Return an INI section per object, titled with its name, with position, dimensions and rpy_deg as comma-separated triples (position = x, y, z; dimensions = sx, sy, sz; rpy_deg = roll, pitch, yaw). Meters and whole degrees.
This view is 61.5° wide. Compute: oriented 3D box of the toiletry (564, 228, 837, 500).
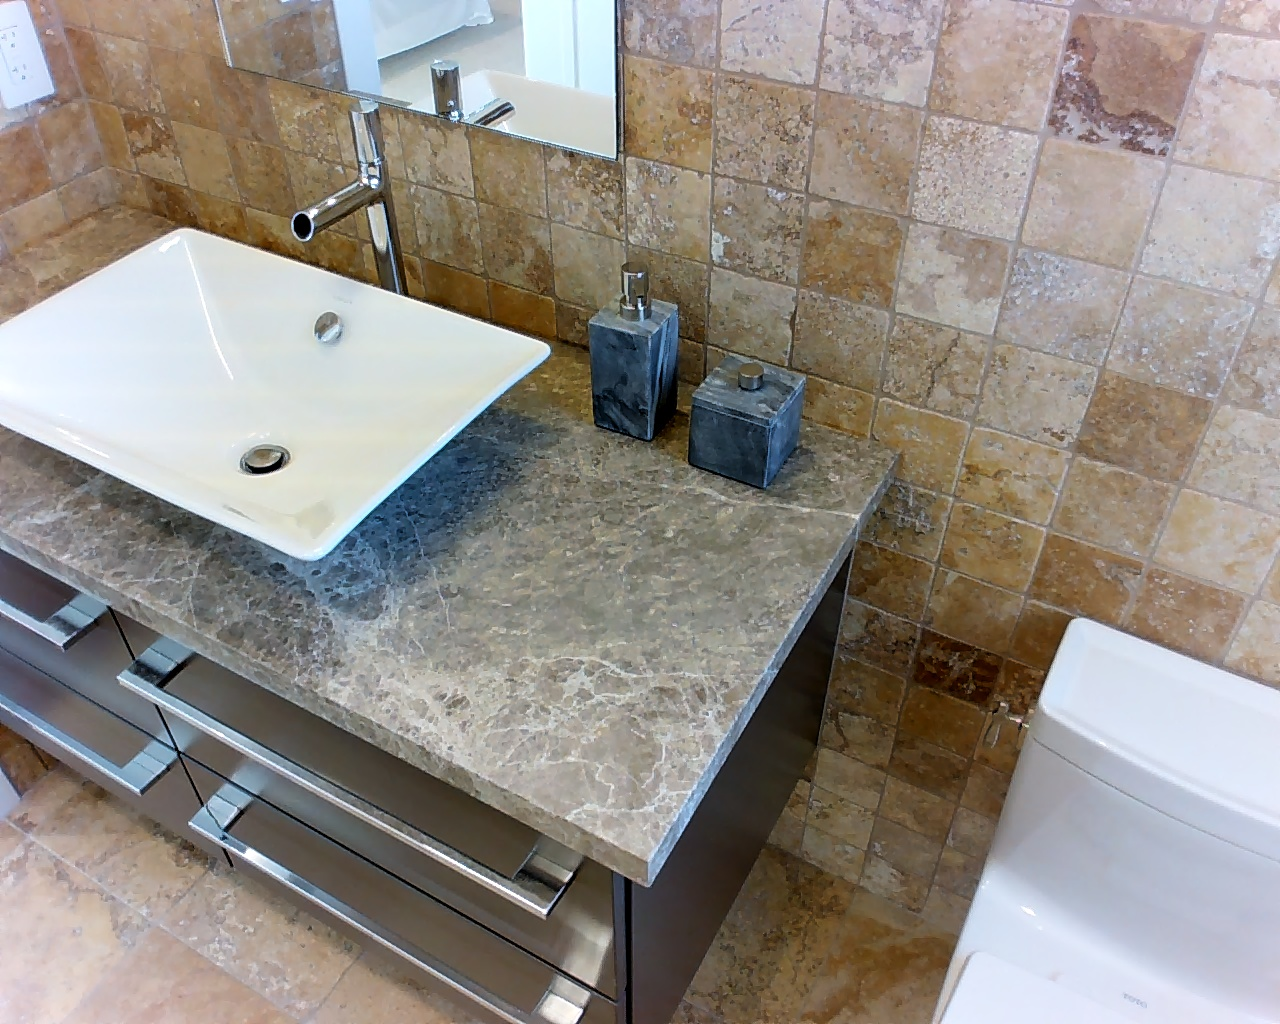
[toiletry]
position = 0.060, -0.160, 1.140
dimensions = 0.240, 0.190, 0.130
rpy_deg = 21, 45, 22

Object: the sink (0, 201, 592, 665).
[sink]
position = -0.410, -0.130, 1.180
dimensions = 0.570, 0.140, 0.430
rpy_deg = 21, 45, 22
